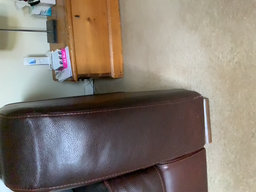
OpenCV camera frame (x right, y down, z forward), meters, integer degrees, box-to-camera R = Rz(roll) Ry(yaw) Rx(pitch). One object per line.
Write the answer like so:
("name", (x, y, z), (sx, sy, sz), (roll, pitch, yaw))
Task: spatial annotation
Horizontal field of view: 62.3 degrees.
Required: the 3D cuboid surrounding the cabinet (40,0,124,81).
("cabinet", (-0.290, -0.420, 1.260), (0.450, 0.310, 0.630), (7, 102, 56))
